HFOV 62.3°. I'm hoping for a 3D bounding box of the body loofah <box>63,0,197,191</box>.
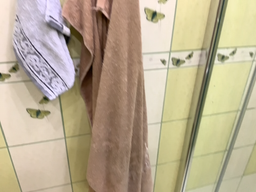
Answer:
[{"bbox_3d":[-0.020,0.110,0.800,0.340,1.140,0.170,-6,30,-14],"label":"body loofah"}]
